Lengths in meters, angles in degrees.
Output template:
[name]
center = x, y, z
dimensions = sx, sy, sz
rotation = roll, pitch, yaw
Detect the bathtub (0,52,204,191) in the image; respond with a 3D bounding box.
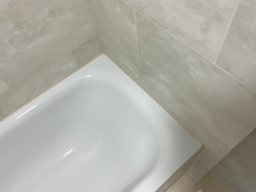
[bathtub]
center = -0.520, 0.600, 1.010
dimensions = 1.650, 0.560, 0.680
rotation = -38, 63, -16
